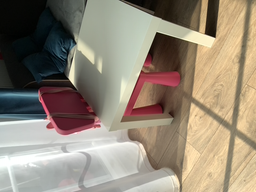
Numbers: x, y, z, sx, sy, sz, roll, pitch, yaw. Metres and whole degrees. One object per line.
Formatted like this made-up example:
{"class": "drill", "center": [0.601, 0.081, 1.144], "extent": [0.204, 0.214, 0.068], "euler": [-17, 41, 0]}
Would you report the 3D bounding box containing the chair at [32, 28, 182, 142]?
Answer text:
{"class": "chair", "center": [-0.120, -0.070, 1.210], "extent": [0.420, 0.650, 0.390], "euler": [41, 120, 41]}
